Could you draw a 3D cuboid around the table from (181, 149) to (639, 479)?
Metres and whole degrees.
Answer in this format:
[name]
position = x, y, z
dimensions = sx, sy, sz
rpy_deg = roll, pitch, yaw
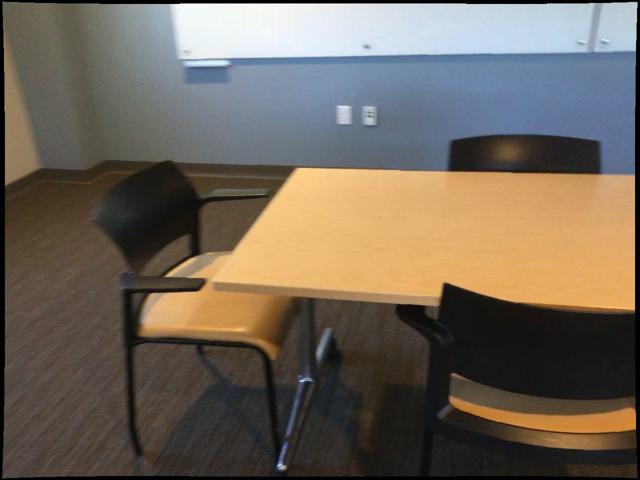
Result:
[table]
position = 0.459, 0.261, 1.700
dimensions = 1.317, 0.751, 0.910
rpy_deg = 4, 29, 15
